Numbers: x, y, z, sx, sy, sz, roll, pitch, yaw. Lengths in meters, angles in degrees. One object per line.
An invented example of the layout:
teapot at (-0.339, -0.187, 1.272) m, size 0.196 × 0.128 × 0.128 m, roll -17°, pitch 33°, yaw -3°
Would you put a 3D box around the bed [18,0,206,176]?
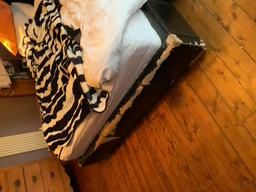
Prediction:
bed at (-0.640, -0.620, 2.410) m, size 2.080 × 0.640 × 2.260 m, roll -54°, pitch 52°, yaw 44°
